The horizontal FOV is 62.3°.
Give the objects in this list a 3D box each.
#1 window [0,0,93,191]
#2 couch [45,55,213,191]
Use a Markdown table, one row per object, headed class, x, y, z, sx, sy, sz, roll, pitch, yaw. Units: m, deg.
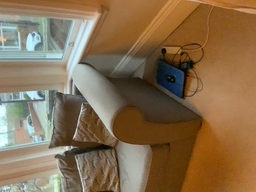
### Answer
| class | x | y | z | sx | sy | sz | roll | pitch | yaw |
| --- | --- | --- | --- | --- | --- | --- | --- | --- | --- |
| window | -1.240 | 0.450 | 1.850 | 0.930 | 1.460 | 2.400 | 43 | 132 | 50 |
| couch | -0.170 | 0.540 | 2.010 | 1.080 | 0.950 | 1.600 | 42 | 130 | 51 |
